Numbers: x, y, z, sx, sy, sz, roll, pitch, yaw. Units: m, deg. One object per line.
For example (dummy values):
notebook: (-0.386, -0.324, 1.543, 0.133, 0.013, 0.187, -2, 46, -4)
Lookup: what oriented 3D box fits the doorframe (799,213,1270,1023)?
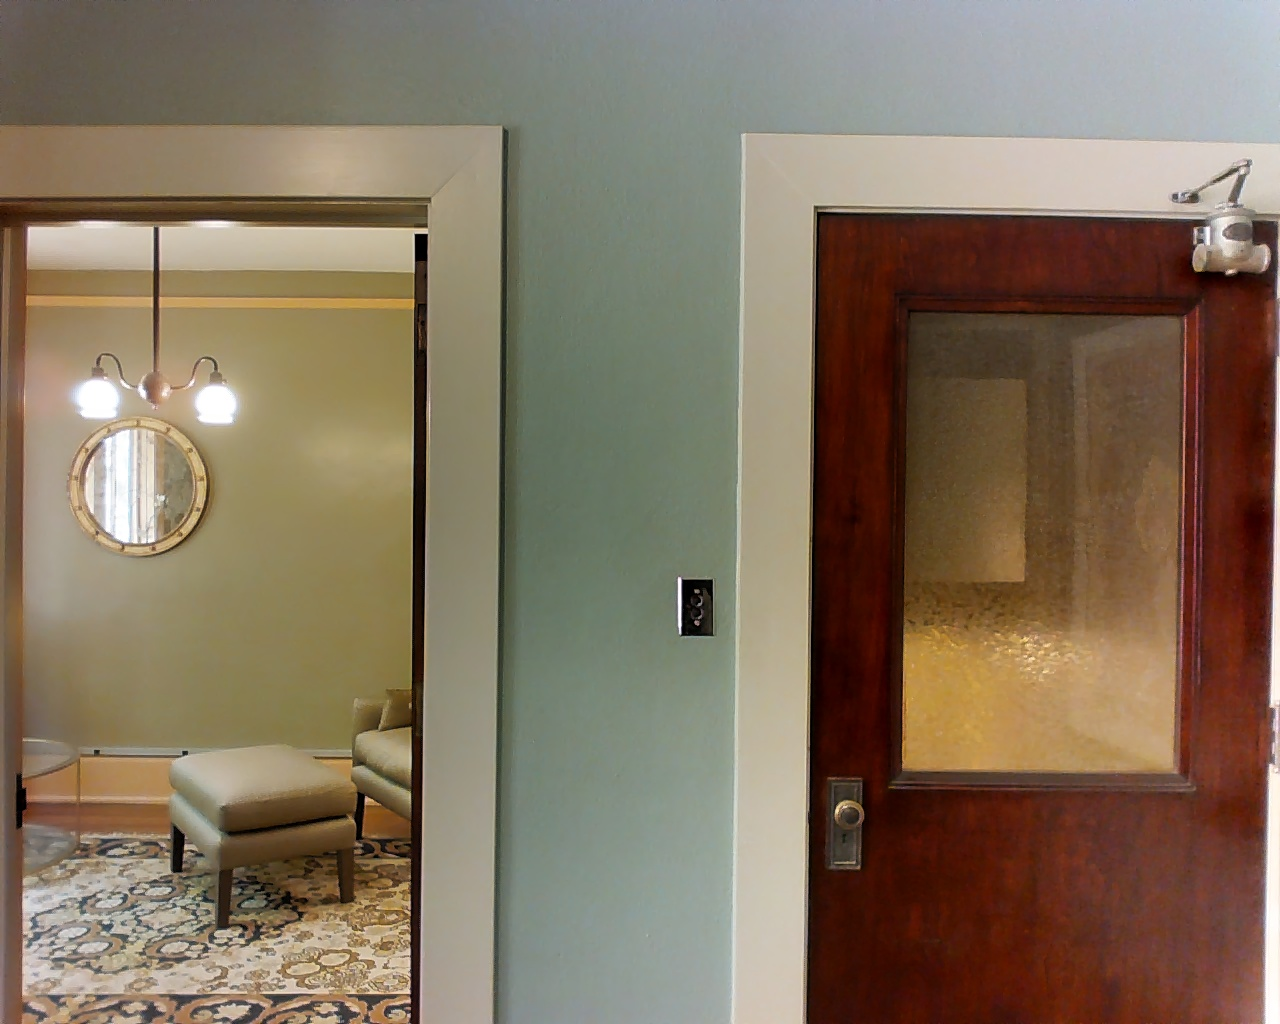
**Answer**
doorframe: (0.780, 0.490, 2.210, 0.860, 2.130, 0.240, 0, 0, -1)
